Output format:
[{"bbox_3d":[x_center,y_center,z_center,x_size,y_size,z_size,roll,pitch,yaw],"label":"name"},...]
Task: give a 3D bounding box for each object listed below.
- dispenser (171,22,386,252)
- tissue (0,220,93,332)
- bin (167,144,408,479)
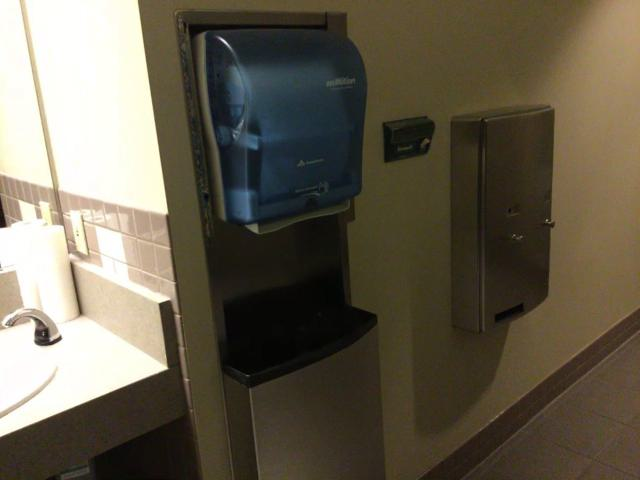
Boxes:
[{"bbox_3d":[-0.080,-0.240,1.290,0.360,0.430,0.240,-17,18,-38],"label":"dispenser"},{"bbox_3d":[-0.750,0.090,1.580,0.150,0.250,0.180,-17,18,-38],"label":"tissue"},{"bbox_3d":[-0.040,0.340,1.490,0.460,1.110,0.240,-17,18,-38],"label":"bin"}]
